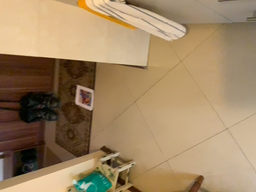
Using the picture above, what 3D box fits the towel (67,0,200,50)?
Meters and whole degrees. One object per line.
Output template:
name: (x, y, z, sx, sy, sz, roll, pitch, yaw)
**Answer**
towel: (0.070, -0.330, 1.040, 0.280, 0.650, 0.110, 18, 105, 41)
